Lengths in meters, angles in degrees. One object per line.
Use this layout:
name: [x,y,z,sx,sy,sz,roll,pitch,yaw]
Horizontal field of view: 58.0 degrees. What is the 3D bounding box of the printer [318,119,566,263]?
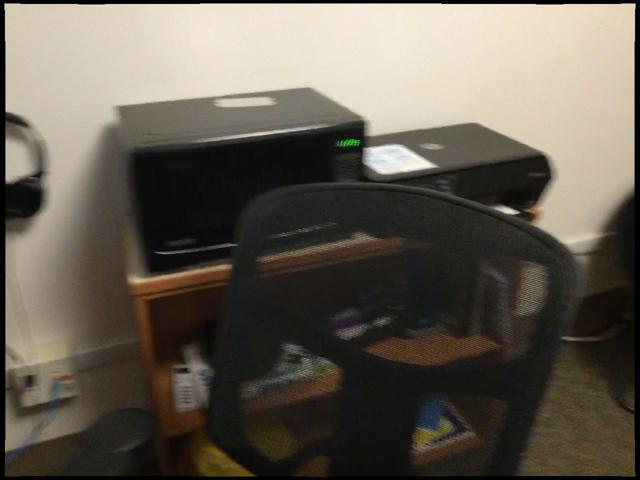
printer: [0.269,-0.140,1.380,0.449,0.160,0.350,-11,30,-20]
